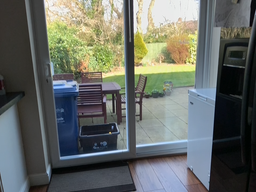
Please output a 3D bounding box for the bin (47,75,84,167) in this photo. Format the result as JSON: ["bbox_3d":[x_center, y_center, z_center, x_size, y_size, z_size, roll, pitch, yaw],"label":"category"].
[{"bbox_3d":[-0.830,0.300,2.930,0.350,1.100,0.630,-4,13,-12],"label":"bin"}]

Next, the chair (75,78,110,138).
[{"bbox_3d":[-0.640,0.180,3.770,0.510,0.920,0.530,-5,14,-15],"label":"chair"}]
